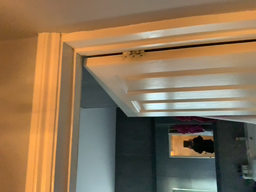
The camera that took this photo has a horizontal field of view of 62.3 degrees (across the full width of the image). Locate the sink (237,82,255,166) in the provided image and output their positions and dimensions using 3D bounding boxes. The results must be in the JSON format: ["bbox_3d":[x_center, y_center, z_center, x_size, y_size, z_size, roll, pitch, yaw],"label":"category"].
[{"bbox_3d":[1.580,0.350,2.730,0.470,0.140,0.990,29,-121,-75],"label":"sink"}]
